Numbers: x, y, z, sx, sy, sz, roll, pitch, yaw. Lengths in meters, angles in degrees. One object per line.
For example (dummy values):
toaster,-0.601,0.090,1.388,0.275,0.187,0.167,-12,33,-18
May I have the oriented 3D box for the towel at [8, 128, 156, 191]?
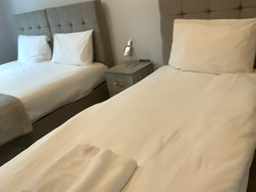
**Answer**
towel,-0.160,0.290,0.830,0.390,0.040,0.420,8,28,33
